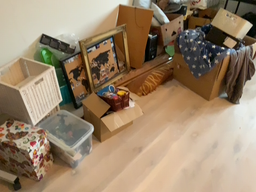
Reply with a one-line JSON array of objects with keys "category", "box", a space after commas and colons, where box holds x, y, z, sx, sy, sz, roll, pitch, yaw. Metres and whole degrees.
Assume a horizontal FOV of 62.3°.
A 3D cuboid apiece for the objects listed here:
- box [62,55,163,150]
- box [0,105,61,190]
[{"category": "box", "box": [-0.150, 0.010, 1.960, 0.580, 0.390, 0.670, -28, 47, -31]}, {"category": "box", "box": [-0.770, 0.360, 1.520, 0.400, 0.390, 0.290, 18, 41, 20]}]
